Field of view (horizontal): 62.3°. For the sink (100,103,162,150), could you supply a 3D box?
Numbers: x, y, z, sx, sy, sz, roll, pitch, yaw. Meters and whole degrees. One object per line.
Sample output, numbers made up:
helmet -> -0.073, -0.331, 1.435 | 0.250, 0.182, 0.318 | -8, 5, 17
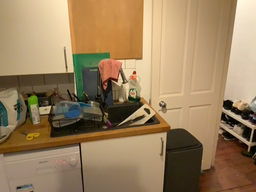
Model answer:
sink -> 0.000, 0.220, 1.700 | 0.390, 0.150, 0.440 | -5, 20, -14

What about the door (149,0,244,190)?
door -> 0.630, -0.020, 2.070 | 0.800, 2.050, 0.080 | -6, 20, -16
